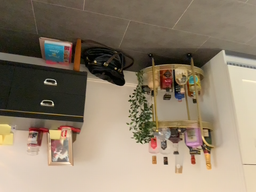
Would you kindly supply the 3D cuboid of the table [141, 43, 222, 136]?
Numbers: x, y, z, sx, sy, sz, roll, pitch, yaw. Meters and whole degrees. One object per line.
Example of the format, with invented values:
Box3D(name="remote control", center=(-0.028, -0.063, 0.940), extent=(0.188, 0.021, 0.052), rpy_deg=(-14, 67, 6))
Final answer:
Box3D(name="table", center=(0.410, -0.020, 1.820), extent=(0.470, 0.630, 0.450), rpy_deg=(6, 159, -15))
